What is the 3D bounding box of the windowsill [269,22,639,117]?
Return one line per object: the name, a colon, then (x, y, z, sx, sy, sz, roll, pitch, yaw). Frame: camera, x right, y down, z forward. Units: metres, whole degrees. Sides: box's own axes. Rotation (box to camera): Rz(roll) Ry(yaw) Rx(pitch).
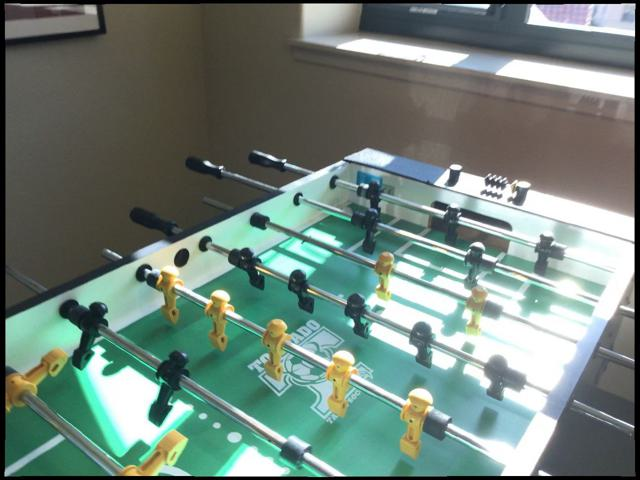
windowsill: (0.748, -0.531, 1.840, 1.978, 0.080, 0.450, 20, 32, 30)
